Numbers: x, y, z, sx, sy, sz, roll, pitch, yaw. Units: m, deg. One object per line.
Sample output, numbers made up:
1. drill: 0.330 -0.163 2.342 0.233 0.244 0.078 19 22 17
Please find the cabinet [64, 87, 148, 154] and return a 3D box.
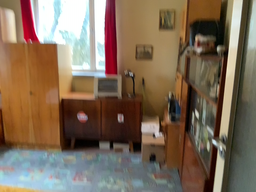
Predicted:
1. cabinet: -0.320 0.350 3.400 1.210 0.870 0.570 3 12 6
